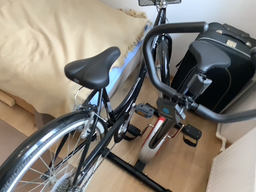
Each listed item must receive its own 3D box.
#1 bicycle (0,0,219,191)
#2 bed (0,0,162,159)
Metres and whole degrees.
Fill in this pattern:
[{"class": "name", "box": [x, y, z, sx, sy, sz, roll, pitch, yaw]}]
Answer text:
[{"class": "bicycle", "box": [-0.010, 0.070, 1.270, 0.390, 0.730, 1.660, 32, 50, 9]}, {"class": "bed", "box": [-0.880, -0.590, 1.670, 1.970, 0.450, 1.180, 30, 49, 7]}]
